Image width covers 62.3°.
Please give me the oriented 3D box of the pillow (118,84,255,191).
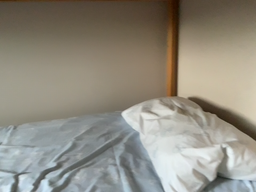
[{"bbox_3d":[0.240,0.130,0.950,0.420,0.180,0.750,-6,16,-13],"label":"pillow"}]
